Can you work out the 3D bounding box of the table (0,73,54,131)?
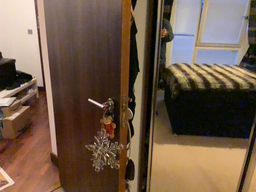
[{"bbox_3d":[-1.810,0.020,3.300,0.570,0.330,1.750,3,19,4],"label":"table"}]
